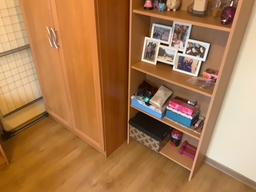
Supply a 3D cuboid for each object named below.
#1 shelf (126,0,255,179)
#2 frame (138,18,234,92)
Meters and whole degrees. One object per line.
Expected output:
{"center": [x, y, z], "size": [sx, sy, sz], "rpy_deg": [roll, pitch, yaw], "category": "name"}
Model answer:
{"center": [0.330, -0.260, 1.350], "size": [0.630, 1.730, 0.260], "rpy_deg": [25, 41, 30], "category": "shelf"}
{"center": [0.330, -0.280, 1.360], "size": [0.550, 0.310, 0.120], "rpy_deg": [25, 41, 30], "category": "frame"}
